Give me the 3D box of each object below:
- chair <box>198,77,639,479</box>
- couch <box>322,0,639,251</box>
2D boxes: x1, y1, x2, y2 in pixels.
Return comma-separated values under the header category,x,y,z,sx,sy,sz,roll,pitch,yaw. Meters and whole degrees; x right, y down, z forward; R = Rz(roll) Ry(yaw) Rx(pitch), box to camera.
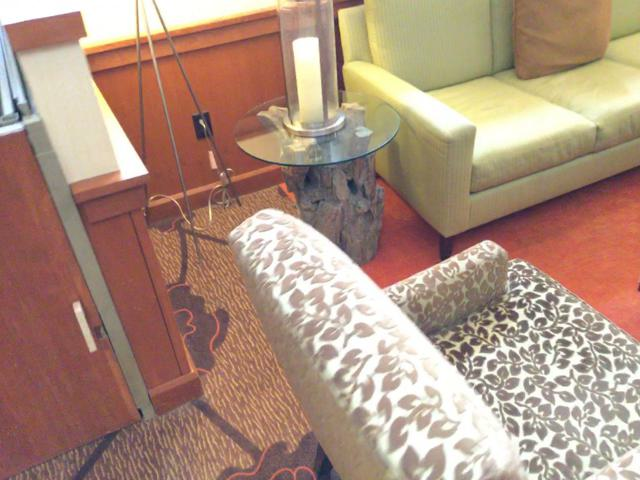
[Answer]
category,x,y,z,sx,sy,sz,roll,pitch,yaw
chair,0.370,0.340,1.310,0.900,0.960,0.790,-20,41,-14
couch,1.220,-0.920,2.650,2.140,0.840,1.030,-20,41,-14
